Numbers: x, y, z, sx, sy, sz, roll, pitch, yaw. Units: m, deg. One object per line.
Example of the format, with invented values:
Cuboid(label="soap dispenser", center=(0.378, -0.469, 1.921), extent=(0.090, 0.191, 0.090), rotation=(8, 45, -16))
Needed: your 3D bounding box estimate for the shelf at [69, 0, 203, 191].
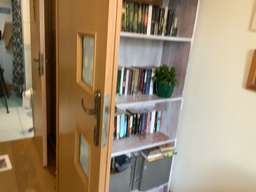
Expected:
Cuboid(label="shelf", center=(0.020, 0.070, 1.680), extent=(0.850, 1.790, 0.330), rotation=(-5, 19, -31))

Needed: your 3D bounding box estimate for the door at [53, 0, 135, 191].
Cuboid(label="door", center=(-0.280, 0.080, 1.190), extent=(0.120, 2.120, 0.840), rotation=(-3, 19, -29))

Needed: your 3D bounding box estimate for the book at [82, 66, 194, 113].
Cuboid(label="book", center=(0.080, -0.080, 1.610), extent=(0.740, 0.220, 0.380), rotation=(-5, 19, -32))
